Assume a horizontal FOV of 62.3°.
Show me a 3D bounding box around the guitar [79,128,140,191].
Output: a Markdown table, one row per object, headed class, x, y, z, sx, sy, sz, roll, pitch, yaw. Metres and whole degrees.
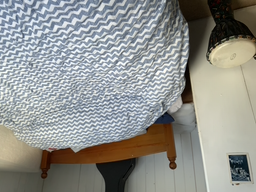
| class | x | y | z | sx | sy | sz | roll | pitch | yaw |
| --- | --- | --- | --- | --- | --- | --- | --- | --- | --- |
| guitar | -0.150 | 0.820 | 1.920 | 0.440 | 0.940 | 0.360 | -9 | 154 | 17 |
